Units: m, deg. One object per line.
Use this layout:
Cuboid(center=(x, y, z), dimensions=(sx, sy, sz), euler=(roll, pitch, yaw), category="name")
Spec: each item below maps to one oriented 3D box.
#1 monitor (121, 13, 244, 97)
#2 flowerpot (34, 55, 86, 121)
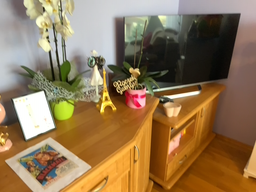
Cuboid(center=(0.470, -0.370, 1.830), dimensions=(1.080, 0.630, 0.100), euler=(-8, 27, -18), category="monitor")
Cuboid(center=(-0.360, -0.050, 1.150), dimensions=(0.170, 0.290, 0.170), euler=(23, 34, 38), category="flowerpot")
